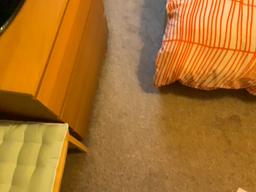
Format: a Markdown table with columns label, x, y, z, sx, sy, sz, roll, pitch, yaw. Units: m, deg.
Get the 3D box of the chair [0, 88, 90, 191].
| label | x | y | z | sx | sy | sz | roll | pitch | yaw |
| --- | --- | --- | --- | --- | --- | --- | --- | --- | --- |
| chair | -0.560 | 0.330 | 0.910 | 0.580 | 0.830 | 0.440 | 2 | 68 | 3 |
